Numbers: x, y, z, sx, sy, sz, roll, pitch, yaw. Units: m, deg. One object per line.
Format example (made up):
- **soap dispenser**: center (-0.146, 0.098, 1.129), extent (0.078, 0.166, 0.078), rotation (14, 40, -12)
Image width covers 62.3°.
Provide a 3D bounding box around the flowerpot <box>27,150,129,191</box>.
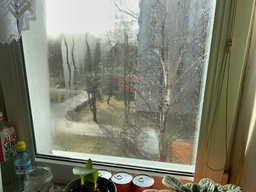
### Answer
- **flowerpot**: center (-0.140, 0.320, 0.670), extent (0.250, 0.200, 0.190), rotation (5, 12, 10)
